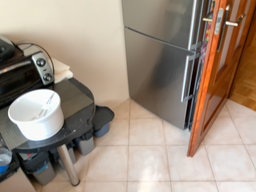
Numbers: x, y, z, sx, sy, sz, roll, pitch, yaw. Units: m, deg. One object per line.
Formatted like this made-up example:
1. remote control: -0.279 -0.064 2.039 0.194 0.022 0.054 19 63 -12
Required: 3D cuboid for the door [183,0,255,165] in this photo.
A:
1. door: 0.660 -0.520 1.220 0.120 2.010 0.890 22 47 29
